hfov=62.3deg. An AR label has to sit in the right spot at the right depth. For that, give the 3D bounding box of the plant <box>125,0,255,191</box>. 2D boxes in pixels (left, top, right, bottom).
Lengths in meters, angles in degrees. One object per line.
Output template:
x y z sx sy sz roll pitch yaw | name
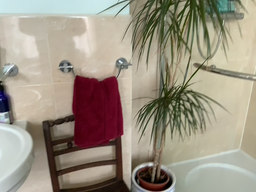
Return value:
0.310 0.020 1.200 0.580 1.460 0.440 -4 20 -10 | plant
